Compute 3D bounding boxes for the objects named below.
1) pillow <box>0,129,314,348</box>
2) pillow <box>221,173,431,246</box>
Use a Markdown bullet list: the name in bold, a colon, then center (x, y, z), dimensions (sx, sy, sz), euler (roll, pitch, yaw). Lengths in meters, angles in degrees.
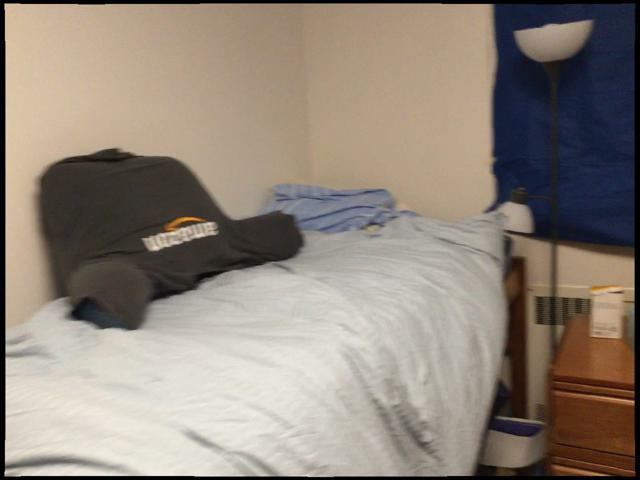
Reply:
- **pillow**: center (-0.449, -0.080, 1.700), dimensions (0.469, 0.421, 0.900), euler (3, 14, 28)
- **pillow**: center (0.050, -0.150, 2.390), dimensions (0.649, 0.180, 0.620), euler (3, 14, 28)
